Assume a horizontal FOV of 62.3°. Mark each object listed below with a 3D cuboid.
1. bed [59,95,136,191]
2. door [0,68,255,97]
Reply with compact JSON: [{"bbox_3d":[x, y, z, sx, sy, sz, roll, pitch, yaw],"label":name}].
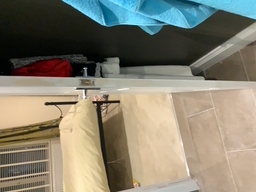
[{"bbox_3d":[-0.510,1.230,3.070,1.390,0.660,2.120,137,128,-57],"label":"bed"},{"bbox_3d":[-0.410,-0.040,1.170,0.890,2.190,0.090,179,91,-64],"label":"door"}]
